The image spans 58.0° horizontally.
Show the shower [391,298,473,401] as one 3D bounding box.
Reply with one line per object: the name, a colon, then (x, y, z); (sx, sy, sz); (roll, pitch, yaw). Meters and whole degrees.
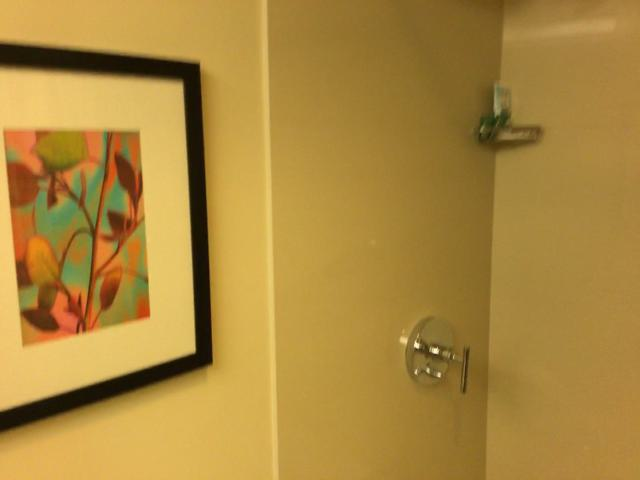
shower: (0.290, 0.270, 1.470); (0.280, 0.190, 0.050); (-9, 11, -43)
